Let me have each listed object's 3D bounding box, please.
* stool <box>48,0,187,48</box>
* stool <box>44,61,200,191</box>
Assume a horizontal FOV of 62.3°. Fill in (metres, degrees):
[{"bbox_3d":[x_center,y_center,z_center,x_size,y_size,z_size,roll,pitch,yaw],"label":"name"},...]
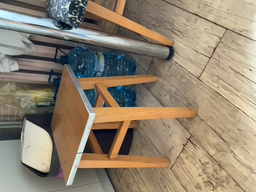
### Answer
[{"bbox_3d":[-0.040,-0.440,0.890,0.330,0.460,0.320,42,122,49],"label":"stool"},{"bbox_3d":[-0.050,0.110,0.870,0.350,0.460,0.330,50,127,46],"label":"stool"}]
